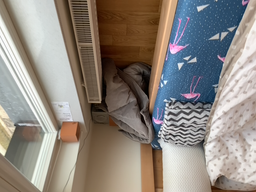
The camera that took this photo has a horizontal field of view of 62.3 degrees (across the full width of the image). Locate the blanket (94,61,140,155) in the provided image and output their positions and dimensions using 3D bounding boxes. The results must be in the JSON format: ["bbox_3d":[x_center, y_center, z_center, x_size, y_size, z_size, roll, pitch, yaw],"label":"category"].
[{"bbox_3d":[-0.070,0.120,1.790,0.300,0.510,0.650,0,142,0],"label":"blanket"}]
